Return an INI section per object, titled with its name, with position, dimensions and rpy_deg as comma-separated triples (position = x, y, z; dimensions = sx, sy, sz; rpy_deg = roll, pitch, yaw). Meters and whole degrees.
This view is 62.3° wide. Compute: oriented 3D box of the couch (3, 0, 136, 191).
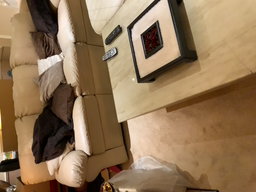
[couch]
position = -0.820, -0.180, 2.550
dimensions = 1.070, 0.970, 2.310
rpy_deg = -27, 70, 53

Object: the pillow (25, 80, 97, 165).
[pillow]
position = -0.740, 0.280, 2.240
dimensions = 0.570, 0.500, 0.750
rpy_deg = -28, 69, 52
